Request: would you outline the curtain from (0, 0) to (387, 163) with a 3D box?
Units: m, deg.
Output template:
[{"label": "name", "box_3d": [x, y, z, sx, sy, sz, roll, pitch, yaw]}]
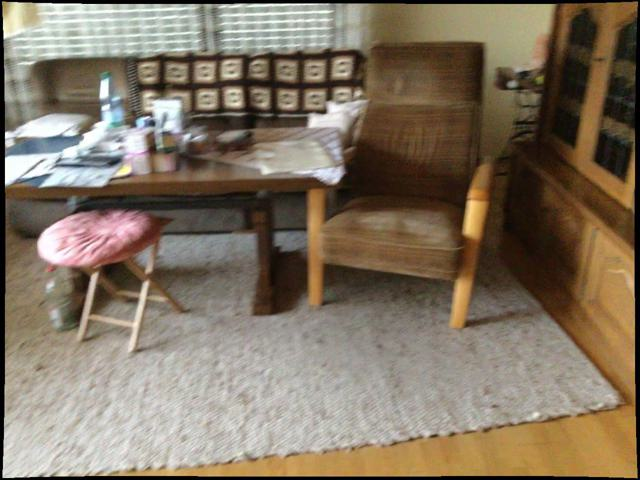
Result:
[{"label": "curtain", "box_3d": [-1.159, -1.602, 3.460, 3.057, 2.102, 0.600, -3, 26, -1]}]

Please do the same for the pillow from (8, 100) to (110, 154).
[{"label": "pillow", "box_3d": [-1.469, -0.651, 3.300, 0.380, 0.180, 0.430, -3, 26, -1]}]

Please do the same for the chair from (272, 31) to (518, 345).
[{"label": "chair", "box_3d": [0.380, -0.310, 2.520, 0.799, 1.021, 0.980, 6, 28, 16]}]
